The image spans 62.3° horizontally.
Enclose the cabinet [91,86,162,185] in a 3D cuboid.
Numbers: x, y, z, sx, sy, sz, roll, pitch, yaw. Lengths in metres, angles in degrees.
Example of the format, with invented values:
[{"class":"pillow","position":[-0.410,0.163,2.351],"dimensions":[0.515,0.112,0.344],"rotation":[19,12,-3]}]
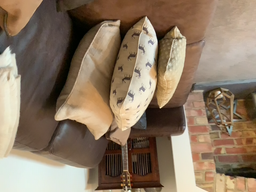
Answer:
[{"class":"cabinet","position":[-0.010,0.440,2.340],"dimensions":[0.670,0.970,0.370],"rotation":[-6,156,9]}]
